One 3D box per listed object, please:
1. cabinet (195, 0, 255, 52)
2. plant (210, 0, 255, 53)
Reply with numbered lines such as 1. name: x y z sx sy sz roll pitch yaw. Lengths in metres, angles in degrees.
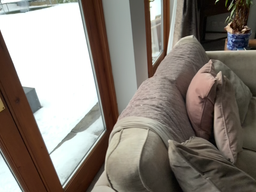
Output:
1. cabinet: 1.500 -1.710 3.220 0.730 1.880 0.720 6 34 19
2. plant: 0.950 -0.730 1.940 0.290 0.560 0.360 8 34 22
